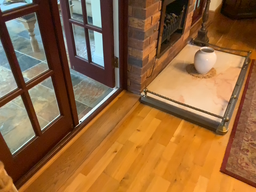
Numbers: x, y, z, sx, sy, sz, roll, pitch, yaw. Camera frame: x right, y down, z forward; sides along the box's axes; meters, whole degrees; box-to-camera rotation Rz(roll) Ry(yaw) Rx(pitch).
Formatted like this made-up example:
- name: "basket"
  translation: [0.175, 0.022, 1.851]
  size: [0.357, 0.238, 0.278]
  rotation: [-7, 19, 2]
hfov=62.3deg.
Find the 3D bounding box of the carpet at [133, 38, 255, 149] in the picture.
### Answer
- name: "carpet"
  translation: [0.760, -0.180, 2.090]
  size: [0.810, 0.130, 1.390]
  rotation: [23, 43, 24]
